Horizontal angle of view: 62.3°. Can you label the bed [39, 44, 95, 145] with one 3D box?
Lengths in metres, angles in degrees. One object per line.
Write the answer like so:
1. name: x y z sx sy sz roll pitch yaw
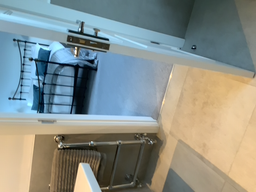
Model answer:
1. bed: -1.410 -0.160 4.470 1.960 0.590 1.520 37 118 57
